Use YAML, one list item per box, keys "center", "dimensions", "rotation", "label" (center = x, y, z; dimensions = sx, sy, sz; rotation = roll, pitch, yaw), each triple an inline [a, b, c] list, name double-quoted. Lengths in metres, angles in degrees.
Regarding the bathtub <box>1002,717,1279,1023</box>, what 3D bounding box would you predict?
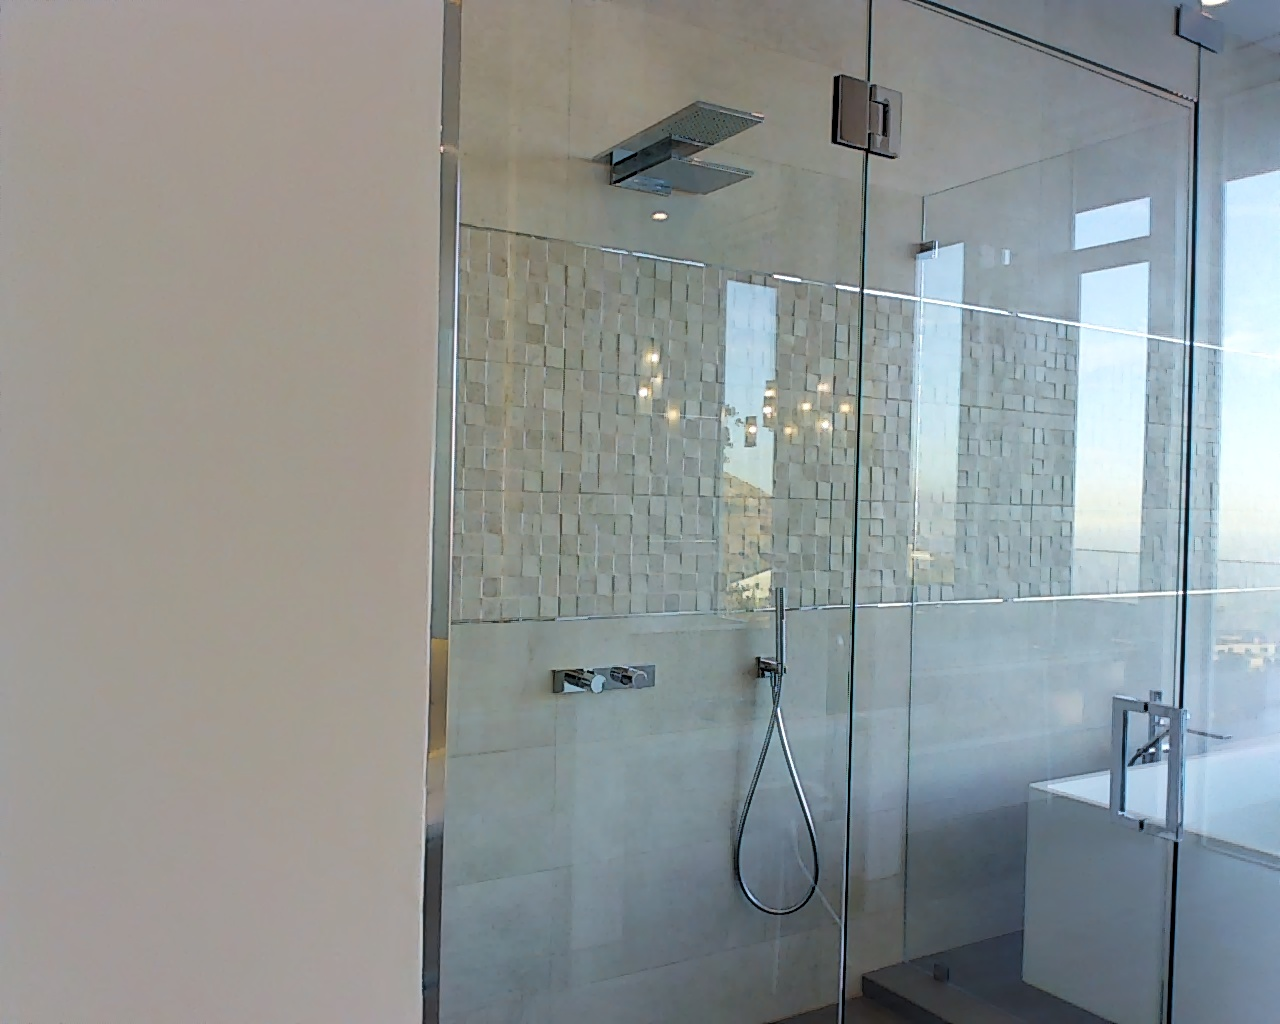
- center: [2.170, 1.100, 3.430]
  dimensions: [1.930, 0.650, 0.870]
  rotation: [1, 0, -31]
  label: "bathtub"
